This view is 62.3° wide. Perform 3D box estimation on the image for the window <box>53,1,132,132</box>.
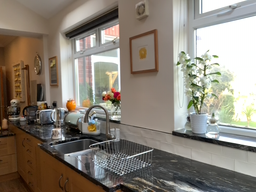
[{"bbox_3d":[-0.590,-0.320,2.900,0.210,1.330,1.710,-4,4,-39],"label":"window"}]
